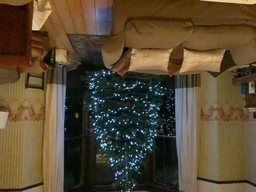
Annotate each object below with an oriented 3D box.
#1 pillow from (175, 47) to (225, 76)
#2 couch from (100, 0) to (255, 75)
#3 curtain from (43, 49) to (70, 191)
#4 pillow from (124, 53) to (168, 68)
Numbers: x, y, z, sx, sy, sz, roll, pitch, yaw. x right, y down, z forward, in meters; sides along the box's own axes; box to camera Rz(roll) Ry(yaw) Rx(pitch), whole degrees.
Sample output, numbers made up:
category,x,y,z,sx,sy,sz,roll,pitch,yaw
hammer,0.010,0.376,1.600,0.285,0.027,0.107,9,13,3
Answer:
category,x,y,z,sx,sy,sz,roll,pitch,yaw
pillow,0.980,-0.470,2.920,0.560,0.310,0.110,11,-123,-8
couch,0.660,-0.750,2.800,2.010,0.990,0.720,1,-94,-9
curtain,-1.530,0.690,4.600,0.310,0.690,3.260,0,-94,-3
pillow,0.240,-0.490,2.960,0.500,0.420,0.110,7,-85,-14
